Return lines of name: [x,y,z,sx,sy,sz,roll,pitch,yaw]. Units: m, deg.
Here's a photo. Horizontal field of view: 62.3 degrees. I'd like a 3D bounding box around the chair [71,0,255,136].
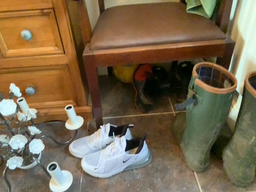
chair: [0.110,-0.410,0.930,0.590,1.030,0.590,-4,39,-1]
